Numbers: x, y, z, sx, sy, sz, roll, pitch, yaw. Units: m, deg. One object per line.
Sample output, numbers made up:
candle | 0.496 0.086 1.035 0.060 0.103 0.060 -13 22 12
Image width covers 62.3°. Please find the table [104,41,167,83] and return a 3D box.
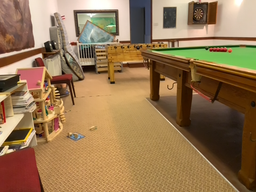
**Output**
table | 0.140 -0.850 5.080 1.330 0.850 0.820 -4 16 -9

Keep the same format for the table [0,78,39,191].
table | -1.000 0.290 1.660 0.280 0.670 1.010 -4 16 -10
